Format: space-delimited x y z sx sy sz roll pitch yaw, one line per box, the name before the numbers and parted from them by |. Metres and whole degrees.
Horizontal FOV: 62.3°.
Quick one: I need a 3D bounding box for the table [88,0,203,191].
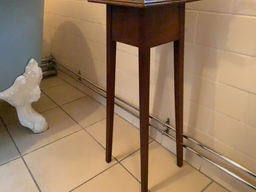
table | 0.050 -0.010 0.710 0.220 0.630 0.220 -22 35 -33
